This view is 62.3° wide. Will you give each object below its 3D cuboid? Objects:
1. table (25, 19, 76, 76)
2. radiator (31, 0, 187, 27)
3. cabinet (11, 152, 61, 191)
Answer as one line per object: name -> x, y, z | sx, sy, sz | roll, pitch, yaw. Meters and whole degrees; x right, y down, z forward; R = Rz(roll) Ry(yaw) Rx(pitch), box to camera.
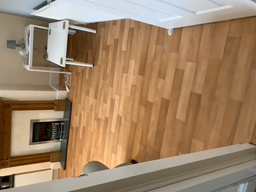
table -> -1.460, -0.870, 3.940 | 0.780, 0.690, 0.860 | 19, 106, 54
radiator -> -0.390, -0.940, 2.250 | 1.870, 0.850, 0.200 | 23, 109, 54
cabinet -> -1.950, 1.650, 4.490 | 0.540, 0.850, 0.610 | 22, 108, 54
